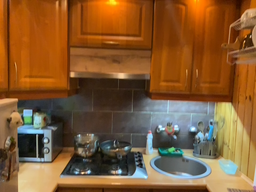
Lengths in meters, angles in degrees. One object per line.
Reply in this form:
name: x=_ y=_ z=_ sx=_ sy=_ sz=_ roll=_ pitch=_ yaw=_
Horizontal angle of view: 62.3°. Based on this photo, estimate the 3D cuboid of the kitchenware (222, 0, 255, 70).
kitchenware: x=0.720 y=-0.360 z=1.060 sx=0.220 sy=0.420 sz=0.630 roll=2 pitch=5 yaw=3

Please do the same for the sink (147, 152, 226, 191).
sink: x=0.410 y=0.580 z=1.630 sx=0.470 sy=0.140 sz=0.440 roll=2 pitch=5 yaw=-2
